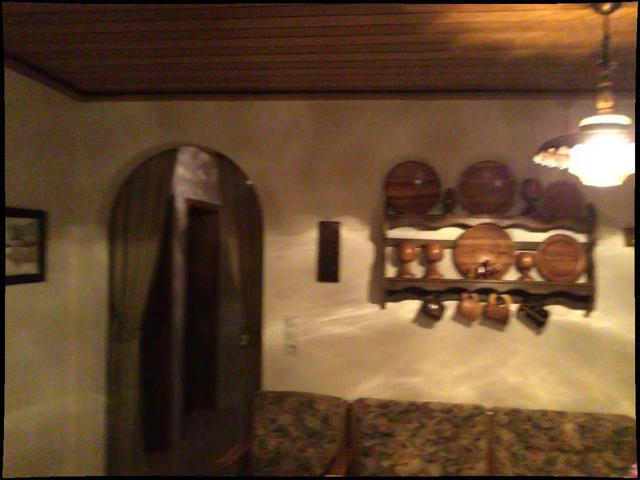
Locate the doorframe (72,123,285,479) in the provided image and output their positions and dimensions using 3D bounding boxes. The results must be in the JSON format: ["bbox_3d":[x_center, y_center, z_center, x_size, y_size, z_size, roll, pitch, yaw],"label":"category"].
[{"bbox_3d":[-0.779,0.490,3.230,1.049,2.212,0.350,2,0,9],"label":"doorframe"}]

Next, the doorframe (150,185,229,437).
[{"bbox_3d":[-1.139,0.571,5.180,0.270,2.022,1.030,2,0,9],"label":"doorframe"}]
